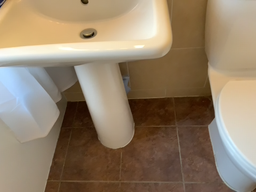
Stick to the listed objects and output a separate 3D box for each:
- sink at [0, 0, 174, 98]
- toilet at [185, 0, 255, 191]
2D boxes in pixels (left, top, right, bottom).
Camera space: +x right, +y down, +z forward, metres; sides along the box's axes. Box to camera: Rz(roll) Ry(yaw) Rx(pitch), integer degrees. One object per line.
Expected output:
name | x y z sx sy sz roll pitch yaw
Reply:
sink | -0.150 -0.240 0.720 0.540 0.180 0.460 -2 53 4
toilet | 0.510 0.010 0.870 0.350 0.790 0.650 -2 53 4
